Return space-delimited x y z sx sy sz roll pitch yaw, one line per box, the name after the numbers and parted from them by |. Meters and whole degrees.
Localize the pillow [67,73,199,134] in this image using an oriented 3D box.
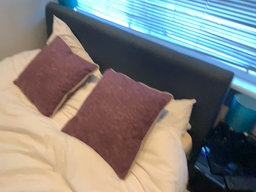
0.030 0.040 1.060 0.470 0.450 0.130 20 95 41 | pillow

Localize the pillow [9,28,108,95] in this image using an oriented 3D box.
-0.450 -0.220 1.370 0.500 0.420 0.140 35 101 39 | pillow
